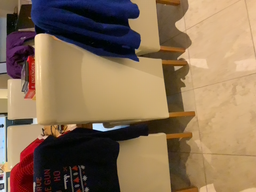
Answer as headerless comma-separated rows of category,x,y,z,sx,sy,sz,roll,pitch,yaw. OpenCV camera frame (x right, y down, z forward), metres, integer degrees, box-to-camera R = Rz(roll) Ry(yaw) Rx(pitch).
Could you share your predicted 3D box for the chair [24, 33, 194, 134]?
chair,-0.130,-0.020,1.530,0.580,1.030,0.460,-21,73,54
